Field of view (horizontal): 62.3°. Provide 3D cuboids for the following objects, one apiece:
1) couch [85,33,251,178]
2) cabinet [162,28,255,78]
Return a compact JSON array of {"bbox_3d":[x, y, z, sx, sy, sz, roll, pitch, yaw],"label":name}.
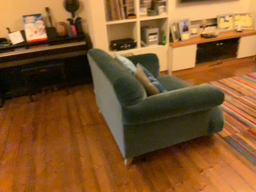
[{"bbox_3d":[0.260,-0.080,2.250,1.080,0.830,1.310,-13,28,-16],"label":"couch"},{"bbox_3d":[1.500,-0.810,3.830,1.750,0.560,0.400,-12,28,-15],"label":"cabinet"}]
